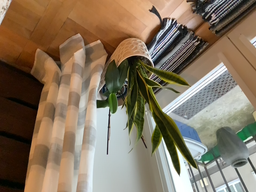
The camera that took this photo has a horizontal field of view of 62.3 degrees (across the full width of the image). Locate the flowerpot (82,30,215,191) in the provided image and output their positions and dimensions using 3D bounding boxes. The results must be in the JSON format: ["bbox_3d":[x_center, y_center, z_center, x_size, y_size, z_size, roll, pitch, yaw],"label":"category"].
[{"bbox_3d":[0.030,0.020,0.980,0.400,0.700,0.300,-5,135,-3],"label":"flowerpot"}]
